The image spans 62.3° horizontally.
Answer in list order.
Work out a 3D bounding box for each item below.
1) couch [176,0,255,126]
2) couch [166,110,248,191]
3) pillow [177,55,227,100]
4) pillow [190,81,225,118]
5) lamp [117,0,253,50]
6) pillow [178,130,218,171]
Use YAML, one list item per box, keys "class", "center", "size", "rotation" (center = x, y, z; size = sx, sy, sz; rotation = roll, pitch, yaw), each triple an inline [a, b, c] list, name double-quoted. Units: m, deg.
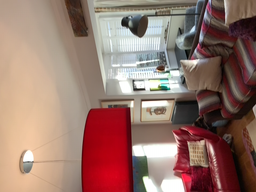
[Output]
- class: "couch"
  center: [1.280, -0.750, 2.470]
  size: [2.780, 0.830, 1.090]
  rotation: [87, -179, -57]
- class: "couch"
  center: [1.350, 1.580, 3.810]
  size: [1.250, 0.900, 2.300]
  rotation: [88, 180, -63]
- class: "pillow"
  center: [1.090, -0.260, 3.160]
  size: [0.470, 0.550, 0.200]
  rotation: [56, -152, -23]
- class: "pillow"
  center: [1.200, 0.060, 3.230]
  size: [0.160, 0.380, 0.400]
  rotation: [24, -133, -34]
- class: "lamp"
  center: [0.750, -1.050, 3.120]
  size: [0.340, 1.790, 0.600]
  rotation: [88, 180, -54]
- class: "pillow"
  center: [1.330, 1.070, 4.120]
  size: [0.190, 0.560, 0.580]
  rotation: [-17, -118, -28]
